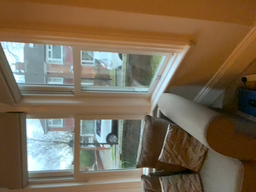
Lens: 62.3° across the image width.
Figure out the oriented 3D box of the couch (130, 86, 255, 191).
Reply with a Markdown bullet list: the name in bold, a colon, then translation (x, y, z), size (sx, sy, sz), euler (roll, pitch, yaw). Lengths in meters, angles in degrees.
- **couch**: translation (0.630, 0.790, 2.050), size (1.080, 0.950, 1.600), euler (-135, 47, -73)
